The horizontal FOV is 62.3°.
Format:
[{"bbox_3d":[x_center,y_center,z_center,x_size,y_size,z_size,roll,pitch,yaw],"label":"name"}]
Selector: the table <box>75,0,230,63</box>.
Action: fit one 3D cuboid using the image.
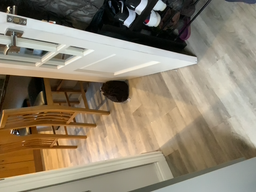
[{"bbox_3d":[0.230,-0.660,1.080,0.970,0.620,0.370,-47,54,41],"label":"table"}]
